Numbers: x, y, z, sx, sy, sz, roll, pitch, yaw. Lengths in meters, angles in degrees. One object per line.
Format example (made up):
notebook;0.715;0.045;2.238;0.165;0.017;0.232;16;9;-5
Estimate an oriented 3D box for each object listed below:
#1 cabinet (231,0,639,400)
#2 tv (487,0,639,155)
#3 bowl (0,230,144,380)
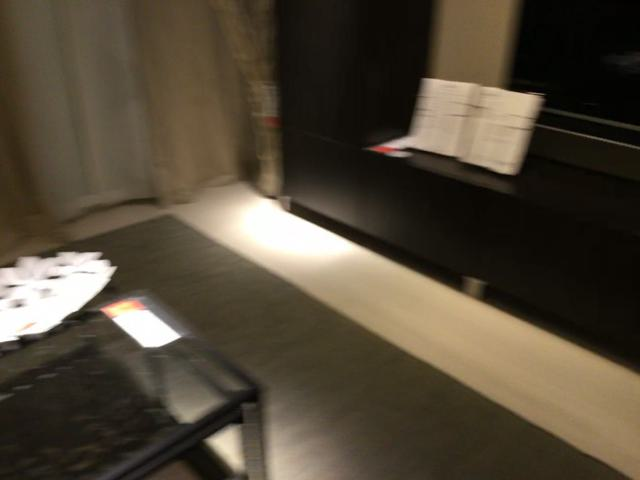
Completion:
cabinet;0.640;-0.510;2.000;0.580;1.470;2.450;-21;31;-36
tv;0.990;-0.600;1.750;0.170;0.640;0.940;-21;31;-36
bowl;-0.730;0.150;1.420;0.430;0.130;0.390;-21;31;-36
